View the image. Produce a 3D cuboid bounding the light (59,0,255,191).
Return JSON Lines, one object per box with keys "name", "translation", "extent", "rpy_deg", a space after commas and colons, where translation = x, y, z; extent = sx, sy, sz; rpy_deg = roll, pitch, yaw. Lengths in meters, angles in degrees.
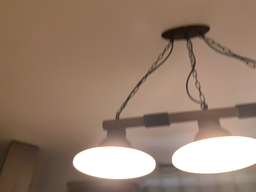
{"name": "light", "translation": [0.320, 0.000, 0.960], "extent": [1.010, 0.420, 0.760], "rpy_deg": [-7, -127, 7]}
